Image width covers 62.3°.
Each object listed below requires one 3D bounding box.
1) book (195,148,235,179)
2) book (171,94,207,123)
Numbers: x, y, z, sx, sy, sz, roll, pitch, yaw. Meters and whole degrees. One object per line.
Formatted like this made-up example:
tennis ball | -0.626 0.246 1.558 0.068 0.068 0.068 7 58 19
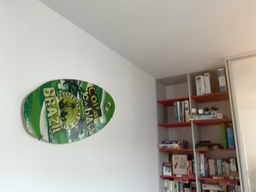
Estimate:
book | 1.140 0.870 2.790 0.410 0.350 0.330 -8 -17 30
book | 0.870 0.190 3.000 0.360 0.310 0.460 -9 -17 32
